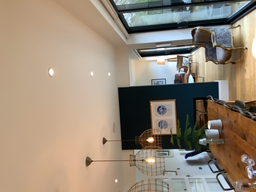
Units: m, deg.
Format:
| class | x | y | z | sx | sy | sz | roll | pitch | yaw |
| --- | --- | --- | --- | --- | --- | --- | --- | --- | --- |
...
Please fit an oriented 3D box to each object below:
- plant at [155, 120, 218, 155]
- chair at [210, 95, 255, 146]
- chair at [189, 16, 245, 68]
| class | x | y | z | sx | sy | sz | roll | pitch | yaw |
| --- | --- | --- | --- | --- | --- | --- | --- | --- | --- |
| plant | 0.940 | 0.680 | 3.540 | 0.390 | 0.960 | 0.470 | -37 | -55 | -82 |
| chair | 1.660 | 0.300 | 2.860 | 0.540 | 0.910 | 0.570 | -41 | -52 | -81 |
| chair | 1.820 | -1.100 | 4.500 | 0.880 | 0.840 | 0.700 | 62 | -153 | -74 |
